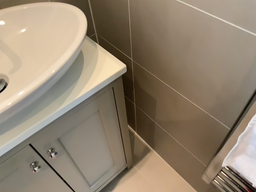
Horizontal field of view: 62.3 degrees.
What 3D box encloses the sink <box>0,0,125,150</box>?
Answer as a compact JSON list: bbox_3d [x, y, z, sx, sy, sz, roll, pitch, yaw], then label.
[{"bbox_3d":[-0.340,-0.060,0.520,0.570,0.120,0.350,-36,58,-22],"label":"sink"}]
